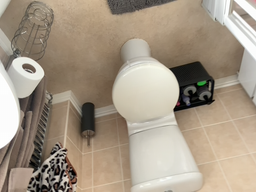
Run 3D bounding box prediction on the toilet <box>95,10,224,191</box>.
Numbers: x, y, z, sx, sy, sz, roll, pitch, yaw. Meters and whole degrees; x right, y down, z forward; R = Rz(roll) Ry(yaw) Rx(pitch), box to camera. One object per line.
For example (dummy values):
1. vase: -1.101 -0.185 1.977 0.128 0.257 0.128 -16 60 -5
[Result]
1. toilet: 0.130 0.050 1.220 0.420 0.800 0.660 -14 137 4
